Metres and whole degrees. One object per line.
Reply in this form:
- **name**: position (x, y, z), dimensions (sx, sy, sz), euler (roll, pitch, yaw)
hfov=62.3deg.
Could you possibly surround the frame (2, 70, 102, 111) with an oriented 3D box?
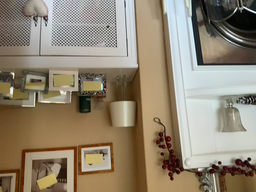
- **frame**: position (-0.520, -0.030, 1.560), dimensions (0.620, 0.210, 0.310), euler (-3, 168, -3)

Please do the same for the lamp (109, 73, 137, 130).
- **lamp**: position (-0.050, 0.050, 1.600), dimensions (0.170, 0.380, 0.270), euler (-2, 168, -8)
